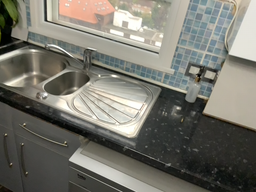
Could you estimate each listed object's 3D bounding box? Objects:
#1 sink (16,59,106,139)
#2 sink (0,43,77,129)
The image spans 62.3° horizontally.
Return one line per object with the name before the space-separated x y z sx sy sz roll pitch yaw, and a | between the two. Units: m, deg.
sink | -0.340 -0.020 1.200 0.210 0.190 0.510 19 32 13
sink | -0.630 -0.100 1.280 0.410 0.230 0.500 19 32 13
